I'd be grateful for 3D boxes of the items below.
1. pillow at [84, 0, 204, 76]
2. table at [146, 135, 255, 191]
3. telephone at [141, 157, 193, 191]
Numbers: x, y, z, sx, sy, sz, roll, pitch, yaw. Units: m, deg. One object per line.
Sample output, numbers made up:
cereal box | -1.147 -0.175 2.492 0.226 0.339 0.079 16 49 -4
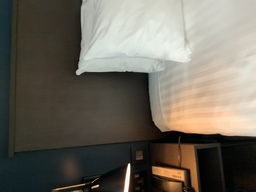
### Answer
pillow | 0.020 -0.460 1.010 0.380 0.440 0.640 139 128 -74
table | 0.450 0.390 1.170 0.410 0.550 0.300 -18 73 60
telephone | 0.190 0.420 1.080 0.250 0.120 0.170 -16 74 60
